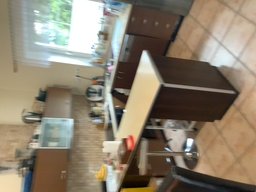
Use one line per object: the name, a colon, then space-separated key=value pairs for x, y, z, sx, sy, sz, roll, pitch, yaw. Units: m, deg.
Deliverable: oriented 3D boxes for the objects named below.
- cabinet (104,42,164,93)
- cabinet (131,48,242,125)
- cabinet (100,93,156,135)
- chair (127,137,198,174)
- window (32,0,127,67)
cabinet: x=0.070 y=-0.510 z=3.860 sx=0.600 sy=0.850 sz=0.590 roll=-106 pitch=27 yaw=-48
cabinet: x=0.540 y=-0.090 z=2.180 sx=0.600 sy=0.840 sz=0.440 roll=-106 pitch=27 yaw=-48
cabinet: x=-0.030 y=0.340 z=3.880 sx=0.430 sy=0.840 sz=0.600 roll=-105 pitch=26 yaw=-47
chair: x=0.410 y=0.700 z=2.570 sx=0.400 sy=0.730 sz=0.350 roll=166 pitch=108 yaw=-71
window: x=-0.900 y=-1.250 z=3.780 sx=0.230 sy=1.460 sz=1.370 roll=-106 pitch=27 yaw=-48
